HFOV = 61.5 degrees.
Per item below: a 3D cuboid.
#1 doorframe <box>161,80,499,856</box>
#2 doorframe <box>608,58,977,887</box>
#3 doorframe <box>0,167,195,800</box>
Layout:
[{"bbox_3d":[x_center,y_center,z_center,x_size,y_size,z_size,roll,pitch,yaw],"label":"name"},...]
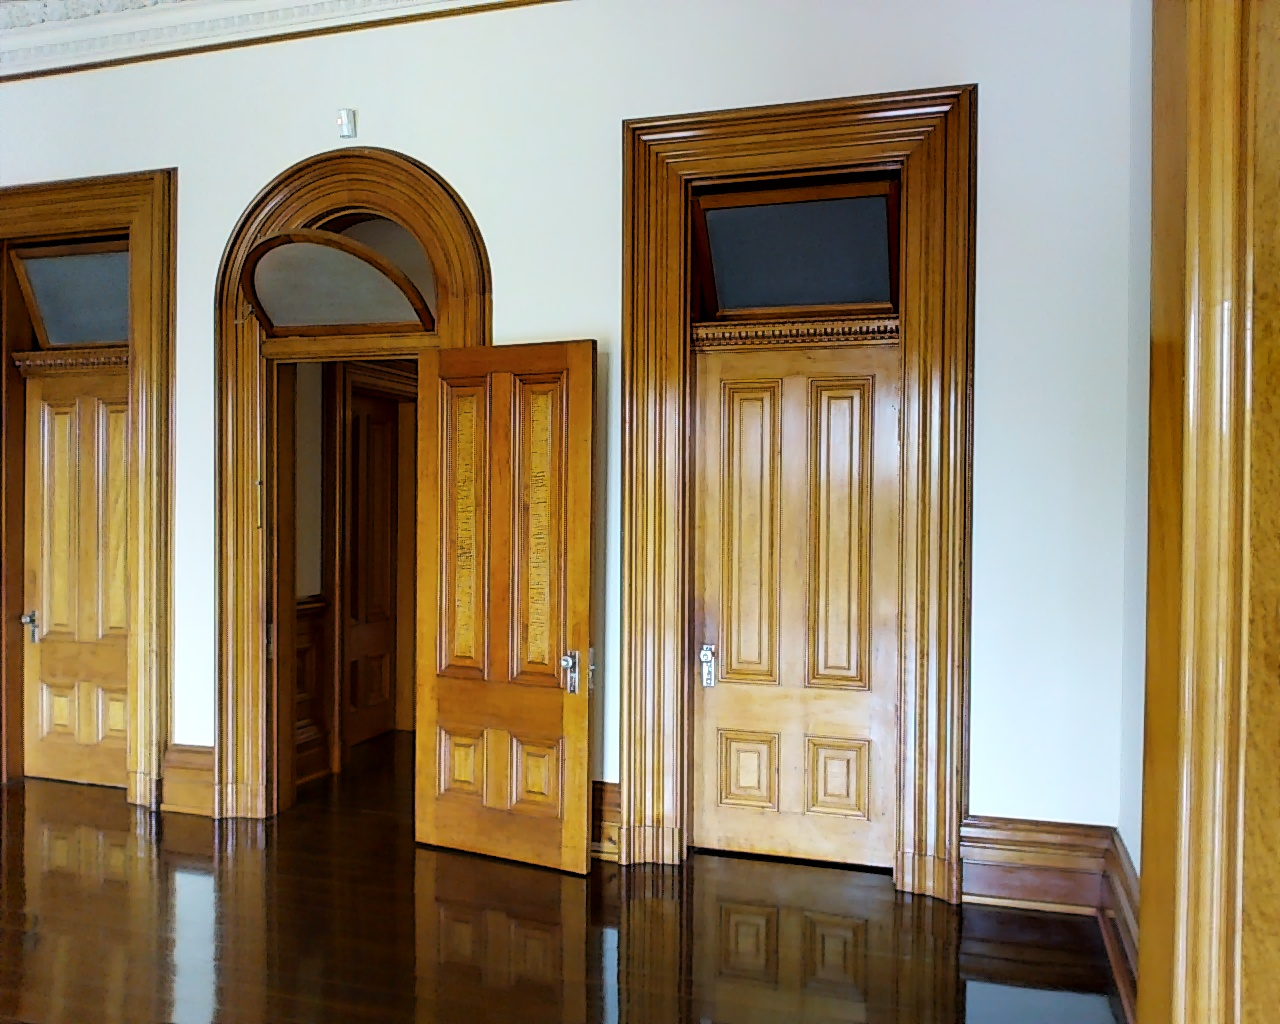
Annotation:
[{"bbox_3d":[-1.440,-0.190,4.990,1.470,3.270,0.480,1,0,18],"label":"doorframe"},{"bbox_3d":[0.640,-0.160,4.620,1.510,3.270,0.310,1,0,18],"label":"doorframe"},{"bbox_3d":[-3.100,-0.150,5.790,1.400,3.190,0.330,1,0,18],"label":"doorframe"}]
